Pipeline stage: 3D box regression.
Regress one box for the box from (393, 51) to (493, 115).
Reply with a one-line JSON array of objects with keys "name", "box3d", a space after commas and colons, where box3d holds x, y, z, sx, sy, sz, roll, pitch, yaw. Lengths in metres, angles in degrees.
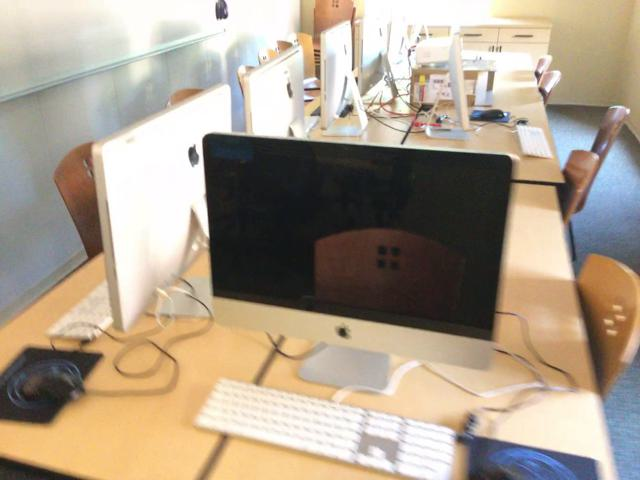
[{"name": "box", "box3d": [0.650, -0.830, 3.010, 0.460, 0.220, 0.440, 7, 27, 13]}]
